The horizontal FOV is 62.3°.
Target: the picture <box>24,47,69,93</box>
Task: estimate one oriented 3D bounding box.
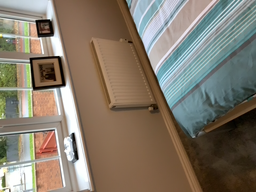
[{"bbox_3d":[-0.660,-0.220,1.710,0.350,0.230,0.130,60,138,22],"label":"picture"}]
